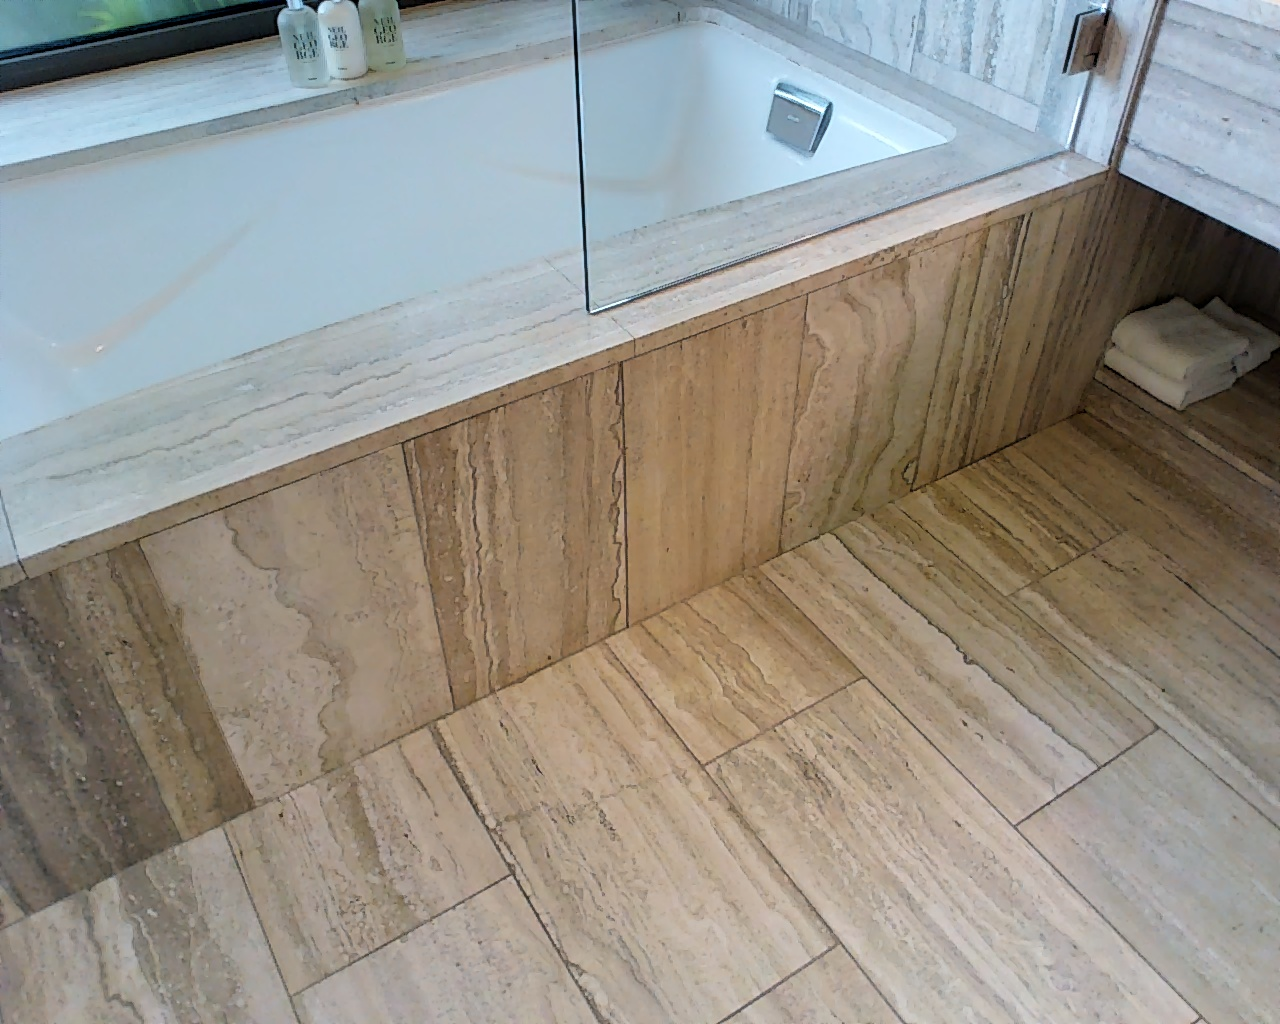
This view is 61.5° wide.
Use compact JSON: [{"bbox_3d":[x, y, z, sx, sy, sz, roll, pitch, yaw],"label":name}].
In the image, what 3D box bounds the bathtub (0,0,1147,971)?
[{"bbox_3d":[-0.460,-0.320,1.920,2.170,0.560,1.350,-24,47,-23],"label":"bathtub"}]
